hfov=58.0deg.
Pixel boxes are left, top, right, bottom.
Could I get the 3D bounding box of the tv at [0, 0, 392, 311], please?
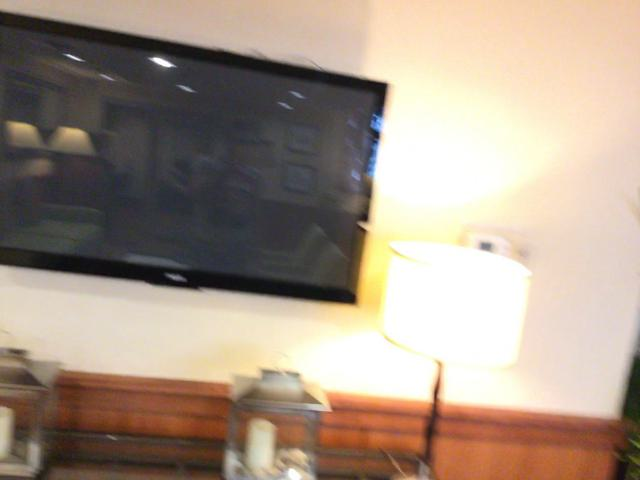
[{"bbox_3d":[-0.400,-0.220,1.740,1.150,0.720,0.200,9,-9,-10],"label":"tv"}]
